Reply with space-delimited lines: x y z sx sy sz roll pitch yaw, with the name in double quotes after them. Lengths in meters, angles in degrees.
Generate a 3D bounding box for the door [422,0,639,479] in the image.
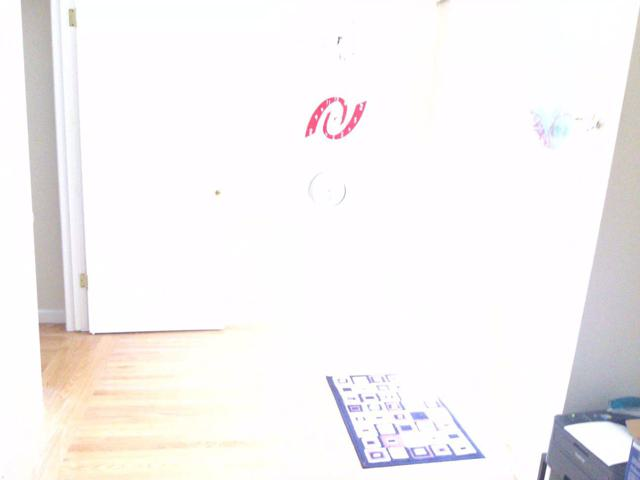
0.860 -0.090 2.360 0.380 2.140 0.900 3 14 -7 "door"
